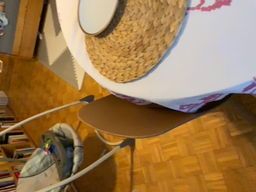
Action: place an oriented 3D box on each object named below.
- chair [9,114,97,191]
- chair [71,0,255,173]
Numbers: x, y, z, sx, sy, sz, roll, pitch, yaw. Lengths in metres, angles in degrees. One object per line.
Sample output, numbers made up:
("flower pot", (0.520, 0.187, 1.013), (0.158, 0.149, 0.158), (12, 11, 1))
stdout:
("chair", (-0.610, 0.520, 1.660), (0.460, 0.370, 0.590), (37, 112, 39))
("chair", (0.270, -0.130, 0.860), (0.460, 0.760, 0.530), (22, 103, 42))
